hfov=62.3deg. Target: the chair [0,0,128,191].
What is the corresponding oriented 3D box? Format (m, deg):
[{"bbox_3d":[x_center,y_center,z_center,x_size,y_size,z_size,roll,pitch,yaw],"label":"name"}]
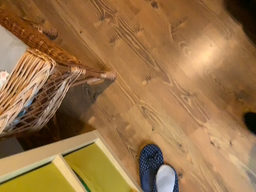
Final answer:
[{"bbox_3d":[-0.540,-0.020,0.860,0.610,0.860,0.640,37,99,14],"label":"chair"}]
